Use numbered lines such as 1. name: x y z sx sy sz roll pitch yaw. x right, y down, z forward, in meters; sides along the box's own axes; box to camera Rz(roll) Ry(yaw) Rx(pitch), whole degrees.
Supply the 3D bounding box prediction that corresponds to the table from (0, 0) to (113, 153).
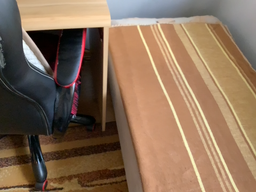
1. table: -0.730 -0.200 0.990 1.170 0.780 0.680 -7 55 -13
